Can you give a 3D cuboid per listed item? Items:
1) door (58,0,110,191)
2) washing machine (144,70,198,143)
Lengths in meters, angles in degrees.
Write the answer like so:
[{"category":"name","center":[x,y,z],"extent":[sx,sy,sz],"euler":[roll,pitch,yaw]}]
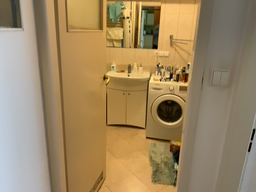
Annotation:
[{"category":"door","center":[-0.300,0.010,1.700],"extent":[0.080,1.990,0.680],"euler":[6,19,12]},{"category":"washing machine","center":[0.600,0.120,3.120],"extent":[0.610,0.840,0.660],"euler":[5,18,8]}]
